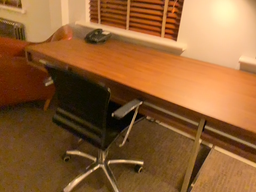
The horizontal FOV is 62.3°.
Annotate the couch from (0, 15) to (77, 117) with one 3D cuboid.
[{"bbox_3d":[-1.110,-0.350,2.180,1.060,0.780,0.850,-3,28,-16],"label":"couch"}]
